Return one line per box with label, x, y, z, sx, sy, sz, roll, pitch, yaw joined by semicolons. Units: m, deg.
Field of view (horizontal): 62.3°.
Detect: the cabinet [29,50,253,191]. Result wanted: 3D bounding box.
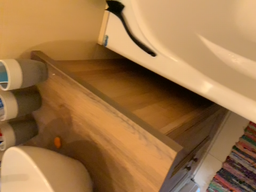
cabinet;0.080;0.200;0.960;0.500;0.750;0.650;33;118;28
